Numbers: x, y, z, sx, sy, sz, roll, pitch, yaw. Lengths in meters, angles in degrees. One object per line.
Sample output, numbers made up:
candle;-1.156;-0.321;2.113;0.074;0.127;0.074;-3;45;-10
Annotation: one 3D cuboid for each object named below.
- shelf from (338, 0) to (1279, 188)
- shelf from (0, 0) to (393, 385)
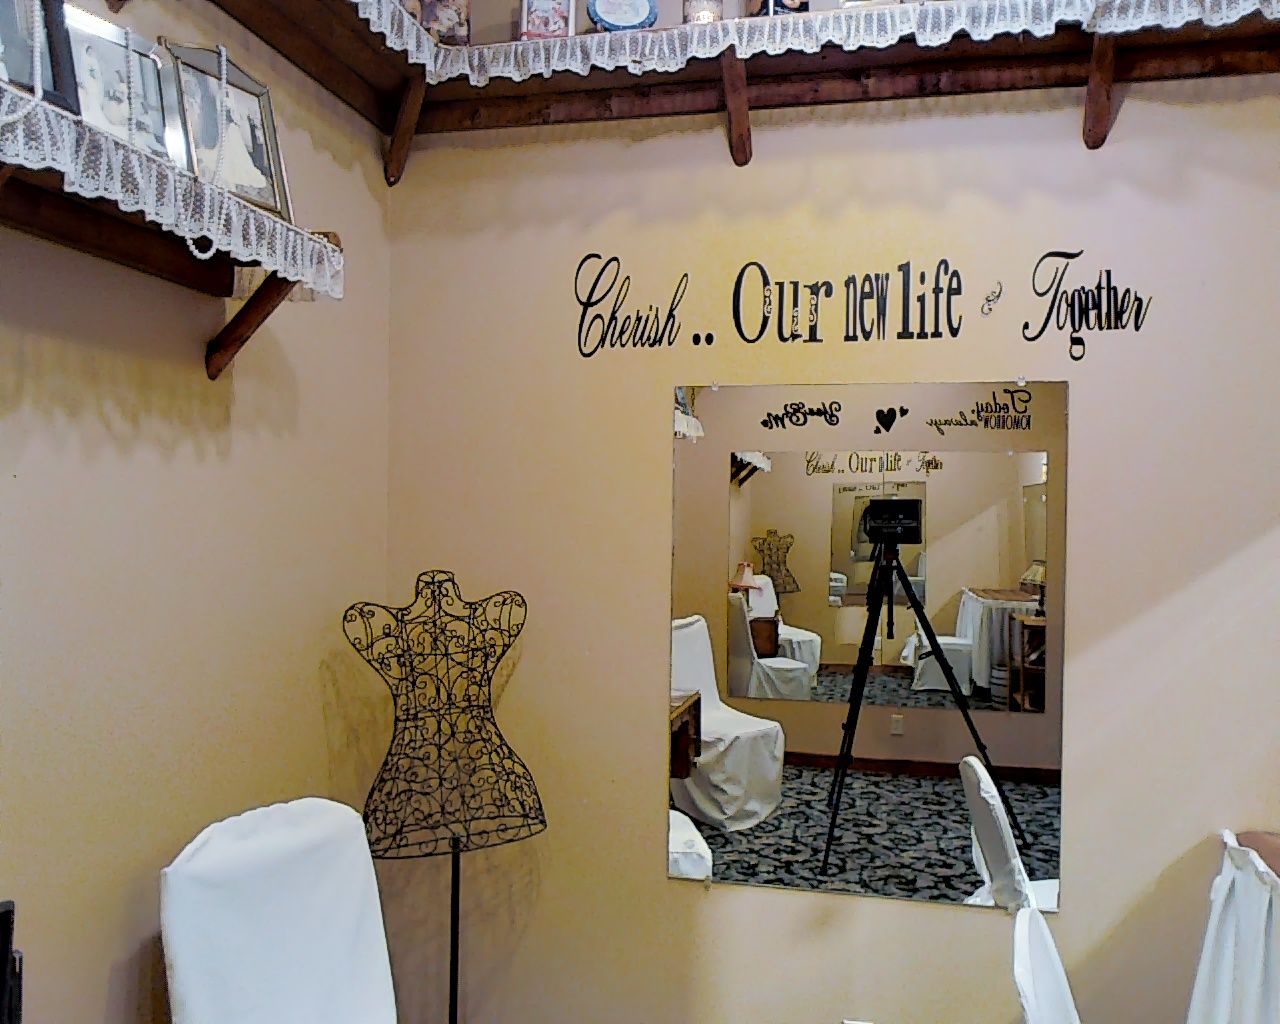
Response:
shelf;0.570;-1.130;2.450;2.569;0.540;0.320;0;0;13
shelf;-0.960;-0.590;0.960;0.310;0.610;2.740;0;0;12
